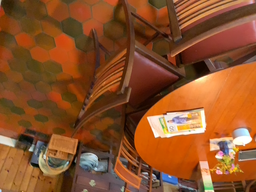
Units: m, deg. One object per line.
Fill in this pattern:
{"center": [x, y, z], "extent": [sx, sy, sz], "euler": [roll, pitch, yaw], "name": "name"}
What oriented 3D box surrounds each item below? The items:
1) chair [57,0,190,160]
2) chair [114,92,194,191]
{"center": [-0.030, -0.150, 1.310], "extent": [0.440, 0.850, 0.490], "euler": [28, 133, -28], "name": "chair"}
{"center": [0.230, 0.510, 2.070], "extent": [0.500, 0.870, 0.460], "euler": [-28, 132, 30], "name": "chair"}
